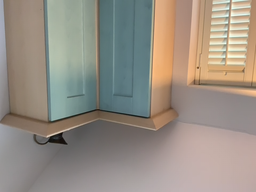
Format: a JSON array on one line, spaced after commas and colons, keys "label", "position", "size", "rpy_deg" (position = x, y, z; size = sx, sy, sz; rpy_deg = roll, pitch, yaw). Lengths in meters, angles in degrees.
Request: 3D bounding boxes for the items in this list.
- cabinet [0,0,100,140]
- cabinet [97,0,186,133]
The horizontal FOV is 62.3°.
[{"label": "cabinet", "position": [-0.370, -0.270, 0.990], "size": [0.340, 0.820, 0.330], "rpy_deg": [7, -170, 29]}, {"label": "cabinet", "position": [0.080, -0.280, 1.120], "size": [0.320, 0.830, 0.360], "rpy_deg": [7, -169, 30]}]
